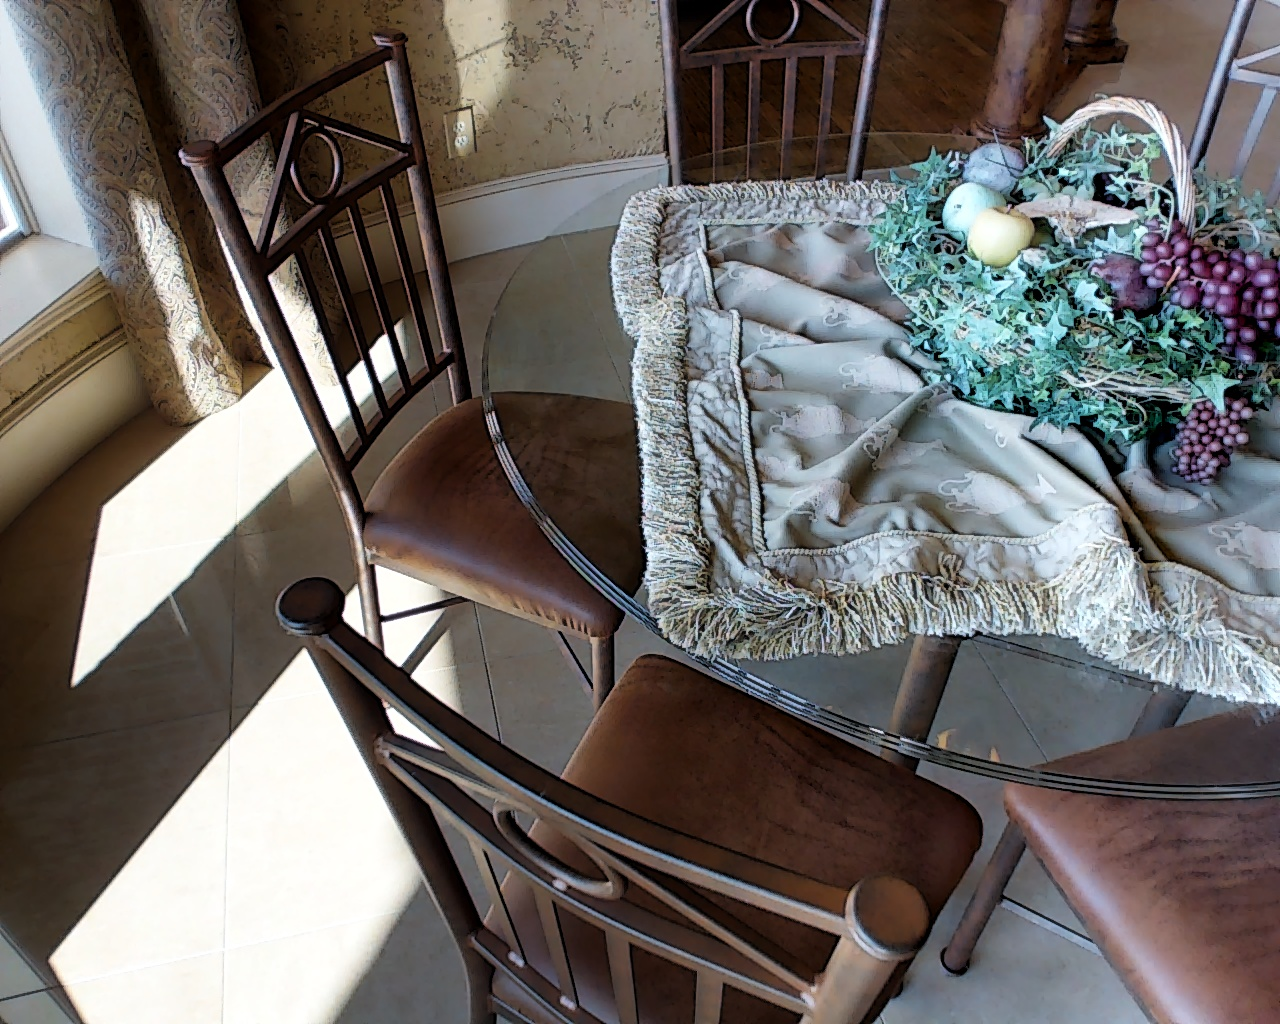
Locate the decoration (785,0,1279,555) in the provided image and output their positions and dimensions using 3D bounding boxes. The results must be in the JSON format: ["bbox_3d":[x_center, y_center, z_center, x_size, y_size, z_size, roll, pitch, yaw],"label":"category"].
[{"bbox_3d":[0.550,-0.320,1.260,0.530,0.340,0.490,-26,49,-26],"label":"decoration"}]

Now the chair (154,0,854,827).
[{"bbox_3d":[-0.150,-0.130,1.650,0.680,1.010,0.520,19,46,19],"label":"chair"}]

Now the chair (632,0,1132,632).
[{"bbox_3d":[0.320,-0.410,1.970,0.520,1.010,0.680,-9,43,-11],"label":"chair"}]

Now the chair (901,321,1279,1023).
[{"bbox_3d":[0.730,0.400,1.110,0.480,1.040,0.630,-13,44,-15],"label":"chair"}]
